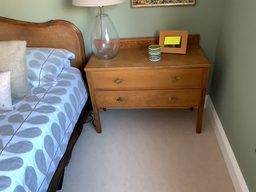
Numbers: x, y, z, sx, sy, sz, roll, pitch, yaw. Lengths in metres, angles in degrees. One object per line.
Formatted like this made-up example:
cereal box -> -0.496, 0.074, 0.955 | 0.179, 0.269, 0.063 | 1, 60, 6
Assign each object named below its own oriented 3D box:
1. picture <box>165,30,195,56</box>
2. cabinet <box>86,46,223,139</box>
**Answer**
picture -> 0.430, -0.440, 1.780 | 0.220, 0.200, 0.080 | 0, 56, 7
cabinet -> 0.220, -0.040, 1.970 | 1.020, 0.710, 0.450 | 1, 33, 7
